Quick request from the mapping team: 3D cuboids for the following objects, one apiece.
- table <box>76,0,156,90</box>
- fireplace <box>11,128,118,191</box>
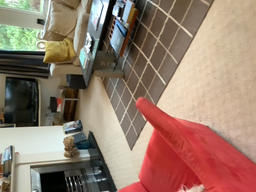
[{"bbox_3d":[-0.170,-0.780,2.360,1.420,0.450,0.520,-65,37,37],"label":"table"},{"bbox_3d":[-0.950,1.260,2.930,1.550,1.170,0.770,51,132,50],"label":"fireplace"}]
